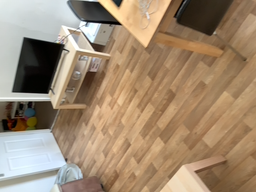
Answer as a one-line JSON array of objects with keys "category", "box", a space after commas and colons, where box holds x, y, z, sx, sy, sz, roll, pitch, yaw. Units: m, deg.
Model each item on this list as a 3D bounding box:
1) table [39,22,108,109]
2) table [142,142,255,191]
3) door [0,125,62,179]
[{"category": "table", "box": [-0.770, -0.370, 2.830, 0.590, 0.470, 0.930, 54, 128, 35]}, {"category": "table", "box": [0.460, 0.770, 1.370, 0.590, 0.480, 0.640, 52, 126, 37]}, {"category": "door", "box": [-2.070, 0.840, 3.060, 0.870, 1.970, 0.140, 46, 124, 40]}]
